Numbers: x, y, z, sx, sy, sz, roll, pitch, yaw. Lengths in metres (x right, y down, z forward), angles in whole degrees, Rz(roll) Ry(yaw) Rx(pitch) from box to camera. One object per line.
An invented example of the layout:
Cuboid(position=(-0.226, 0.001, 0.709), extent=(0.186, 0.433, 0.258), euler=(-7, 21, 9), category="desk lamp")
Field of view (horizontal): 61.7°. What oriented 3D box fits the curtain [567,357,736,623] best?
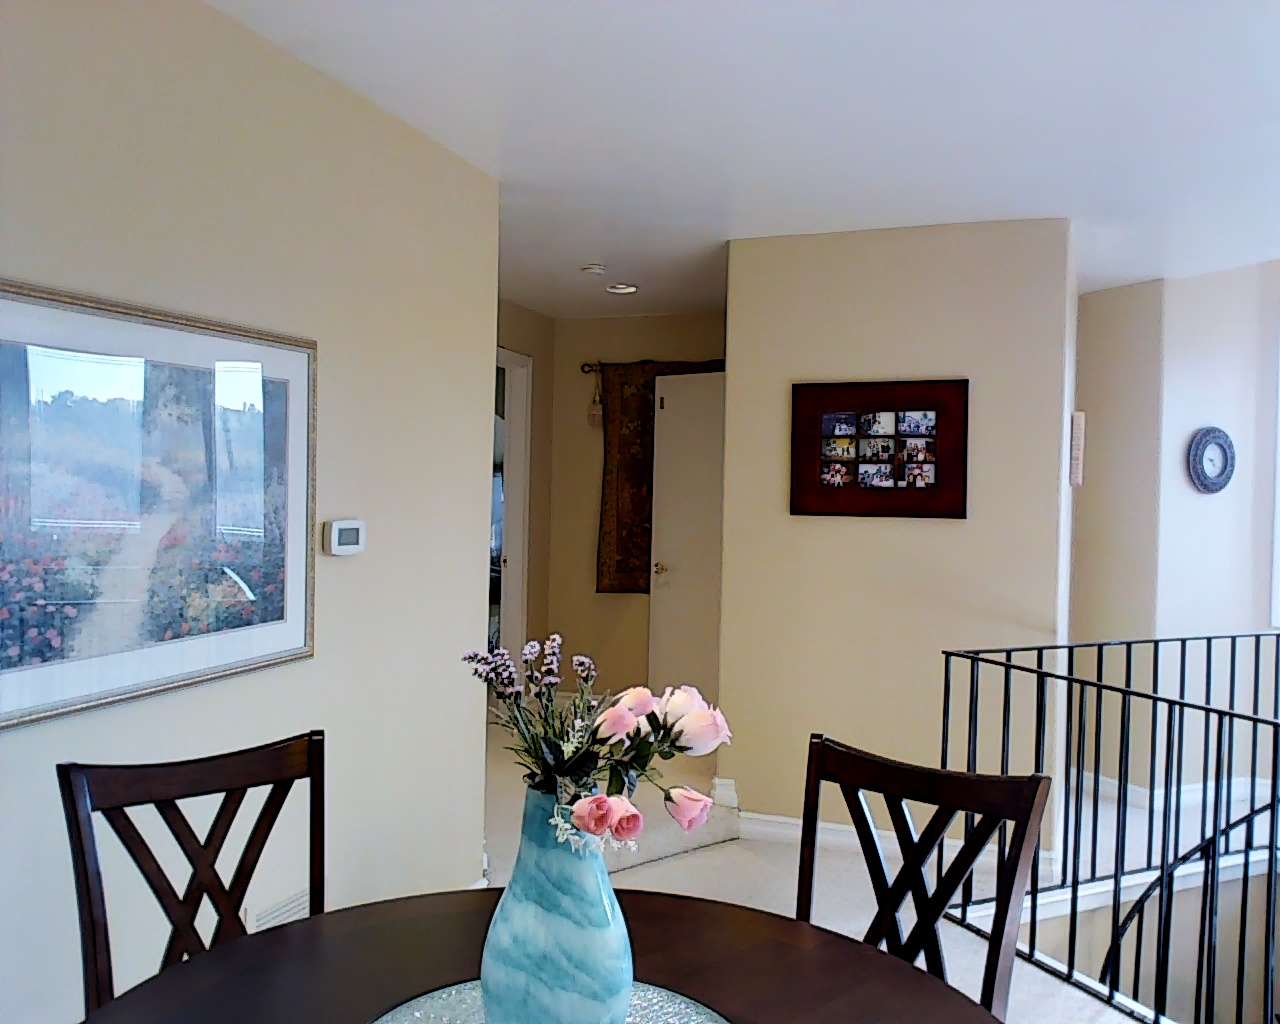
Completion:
Cuboid(position=(0.060, -0.130, 6.160), extent=(0.930, 1.460, 0.210), euler=(1, 0, 21), category="curtain")
